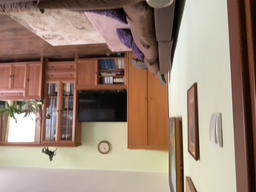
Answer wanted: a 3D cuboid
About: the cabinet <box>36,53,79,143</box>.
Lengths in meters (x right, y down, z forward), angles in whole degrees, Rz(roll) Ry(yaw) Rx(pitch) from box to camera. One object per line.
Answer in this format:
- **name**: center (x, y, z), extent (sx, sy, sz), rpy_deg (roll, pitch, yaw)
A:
- **cabinet**: center (-1.570, 0.050, 4.820), extent (0.750, 1.950, 0.420), rpy_deg (0, 174, 8)
